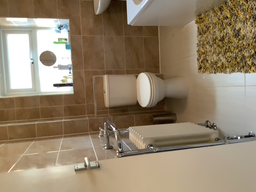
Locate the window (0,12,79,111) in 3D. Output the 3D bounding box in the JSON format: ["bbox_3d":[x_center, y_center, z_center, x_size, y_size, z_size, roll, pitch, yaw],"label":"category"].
[{"bbox_3d":[-1.190,-0.410,2.660,0.420,1.040,1.100,-175,82,-76],"label":"window"}]

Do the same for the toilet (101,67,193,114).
[{"bbox_3d":[0.150,-0.070,2.210,0.680,0.750,0.380,-173,80,-76],"label":"toilet"}]
